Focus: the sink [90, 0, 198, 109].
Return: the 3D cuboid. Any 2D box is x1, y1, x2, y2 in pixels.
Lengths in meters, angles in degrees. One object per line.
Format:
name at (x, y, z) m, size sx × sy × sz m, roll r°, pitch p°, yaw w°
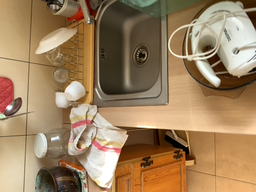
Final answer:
sink at (0.050, -0.190, 0.890) m, size 0.410 × 0.200 × 0.480 m, roll -4°, pitch 83°, yaw 45°
